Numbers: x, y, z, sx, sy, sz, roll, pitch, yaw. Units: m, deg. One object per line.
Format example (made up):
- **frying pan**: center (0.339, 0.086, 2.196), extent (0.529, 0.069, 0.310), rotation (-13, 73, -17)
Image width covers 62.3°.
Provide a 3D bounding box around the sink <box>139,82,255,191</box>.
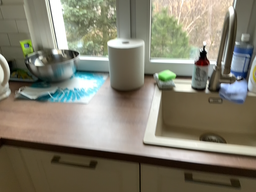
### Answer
- **sink**: center (0.360, 0.160, 0.850), extent (0.570, 0.230, 0.450), rotation (4, 29, 10)
